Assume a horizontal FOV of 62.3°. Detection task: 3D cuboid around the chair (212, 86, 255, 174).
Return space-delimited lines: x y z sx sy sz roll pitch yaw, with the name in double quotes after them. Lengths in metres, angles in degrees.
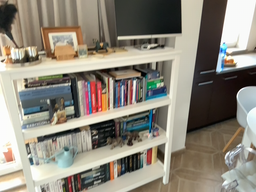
1.330 0.360 2.340 0.460 0.810 0.480 -2 23 -5 "chair"
